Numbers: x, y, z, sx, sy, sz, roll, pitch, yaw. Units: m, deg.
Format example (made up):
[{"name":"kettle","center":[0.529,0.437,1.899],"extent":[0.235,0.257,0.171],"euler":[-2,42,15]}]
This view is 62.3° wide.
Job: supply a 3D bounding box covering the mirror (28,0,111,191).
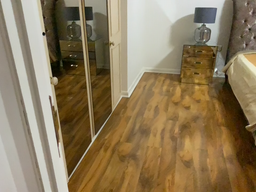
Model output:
[{"name":"mirror","center":[-0.370,-0.490,1.700],"extent":[0.090,2.250,1.130],"euler":[4,25,10]}]
